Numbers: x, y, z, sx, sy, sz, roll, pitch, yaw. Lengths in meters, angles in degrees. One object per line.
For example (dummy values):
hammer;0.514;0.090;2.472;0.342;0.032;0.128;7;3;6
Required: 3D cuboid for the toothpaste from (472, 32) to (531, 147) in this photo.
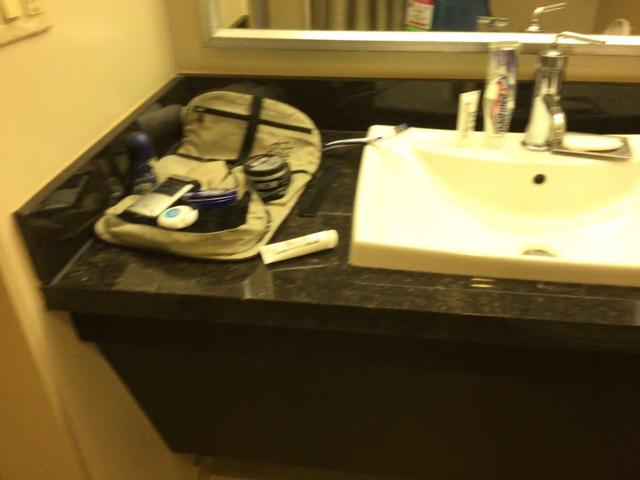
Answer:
toothpaste;0.310;-0.260;1.000;0.060;0.170;0.090;4;32;6
